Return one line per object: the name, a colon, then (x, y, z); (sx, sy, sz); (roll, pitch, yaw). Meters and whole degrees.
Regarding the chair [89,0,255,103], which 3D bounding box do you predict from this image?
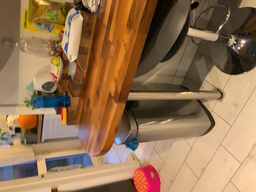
chair: (0.320, -0.330, 1.110); (0.530, 0.840, 0.500); (62, 140, 40)
